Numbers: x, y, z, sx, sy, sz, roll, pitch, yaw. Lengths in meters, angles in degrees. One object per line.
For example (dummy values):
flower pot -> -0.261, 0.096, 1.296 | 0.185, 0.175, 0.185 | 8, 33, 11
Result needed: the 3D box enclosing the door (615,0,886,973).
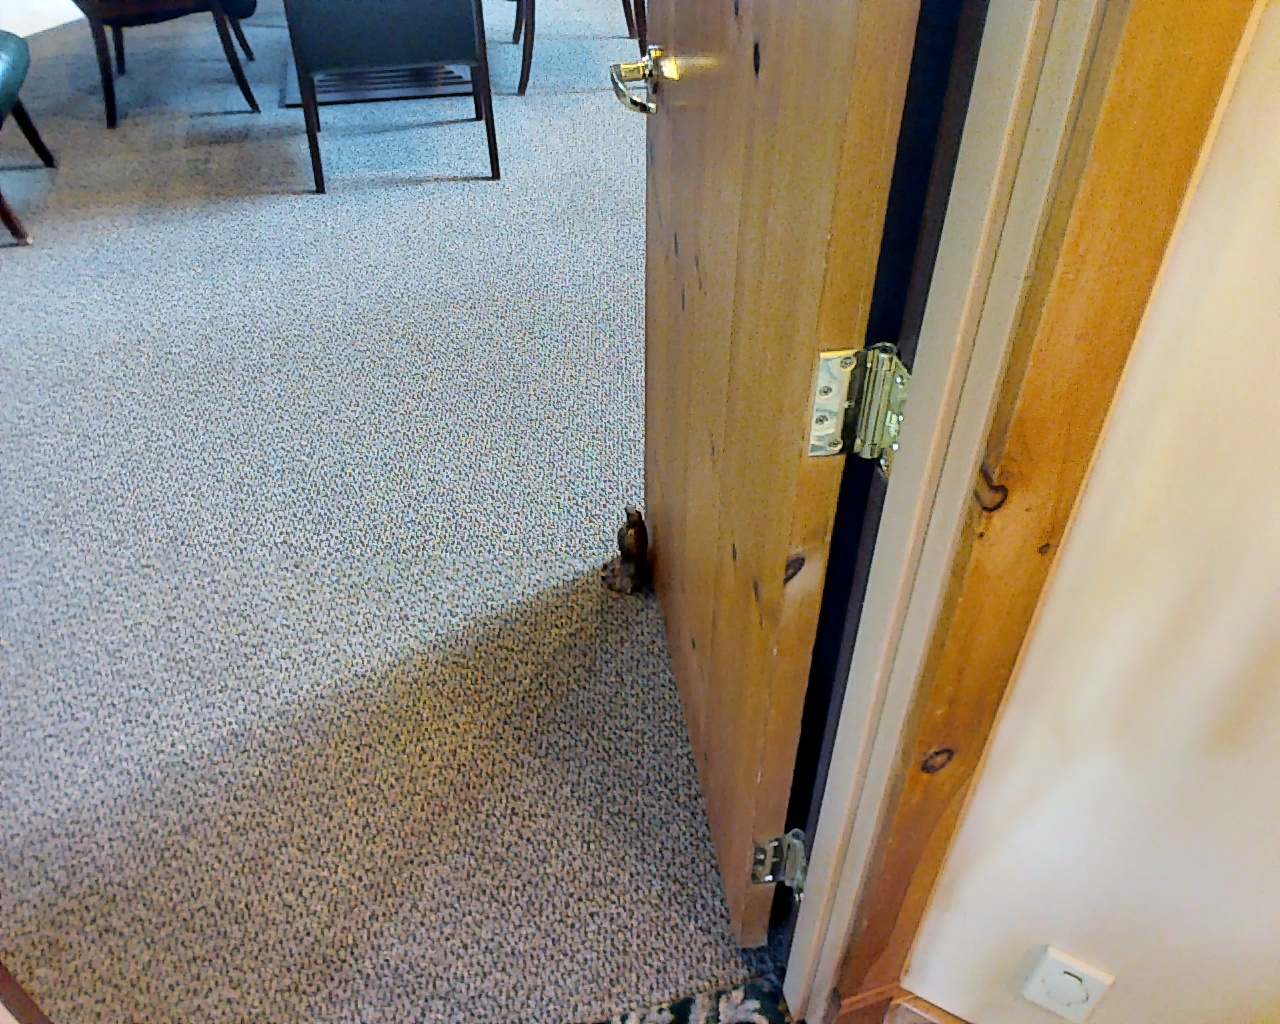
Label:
door -> 0.060, -0.400, 1.280 | 0.080, 2.040, 0.970 | -4, 42, -5
